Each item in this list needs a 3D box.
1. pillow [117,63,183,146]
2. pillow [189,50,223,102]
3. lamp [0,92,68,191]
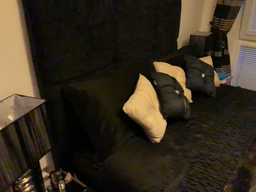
[{"bbox_3d":[0.110,0.050,1.100,0.090,0.300,0.360,34,55,-6],"label":"pillow"},{"bbox_3d":[0.600,-0.150,1.610,0.100,0.240,0.300,3,58,44],"label":"pillow"},{"bbox_3d":[-0.430,0.270,0.790,0.280,0.460,0.250,19,31,32],"label":"lamp"}]
